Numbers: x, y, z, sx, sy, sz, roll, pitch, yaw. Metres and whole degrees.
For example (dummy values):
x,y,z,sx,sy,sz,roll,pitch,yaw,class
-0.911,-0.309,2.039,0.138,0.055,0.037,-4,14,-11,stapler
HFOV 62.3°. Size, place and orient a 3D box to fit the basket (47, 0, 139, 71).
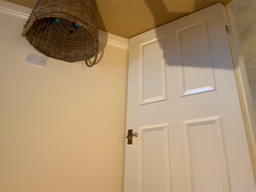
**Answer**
x,y,z,sx,sy,sz,roll,pitch,yaw,class
-0.270,-0.540,1.610,0.540,0.420,0.480,12,155,-22,basket
